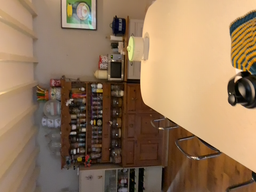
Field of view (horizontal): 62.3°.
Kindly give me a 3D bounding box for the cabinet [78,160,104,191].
[{"bbox_3d":[-0.720,1.650,4.110,0.340,0.470,0.680,-147,59,-76],"label":"cabinet"}]
